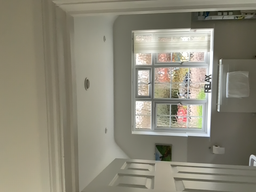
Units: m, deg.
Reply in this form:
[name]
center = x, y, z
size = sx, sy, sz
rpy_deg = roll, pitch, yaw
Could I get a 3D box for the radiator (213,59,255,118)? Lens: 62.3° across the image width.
[radiator]
center = 1.720, -0.120, 3.230
size = 0.130, 0.730, 0.870
rpy_deg = -33, -56, -80

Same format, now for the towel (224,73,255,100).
[towel]
center = 1.640, -0.140, 3.110
size = 0.110, 0.400, 0.390
rpy_deg = -33, -56, -80
